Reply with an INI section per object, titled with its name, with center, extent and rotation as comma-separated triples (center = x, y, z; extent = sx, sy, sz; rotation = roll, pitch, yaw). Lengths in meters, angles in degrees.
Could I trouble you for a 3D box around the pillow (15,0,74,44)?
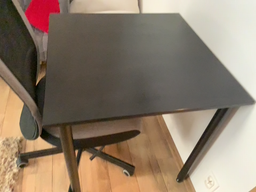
[pillow]
center = -0.670, -0.700, 1.670
extent = 0.130, 0.390, 0.390
rotation = 10, 45, -60
